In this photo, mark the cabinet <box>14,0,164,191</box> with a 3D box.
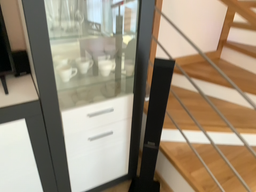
[{"bbox_3d":[-0.230,-0.190,1.250,0.630,1.980,0.450,-14,36,-26],"label":"cabinet"}]
